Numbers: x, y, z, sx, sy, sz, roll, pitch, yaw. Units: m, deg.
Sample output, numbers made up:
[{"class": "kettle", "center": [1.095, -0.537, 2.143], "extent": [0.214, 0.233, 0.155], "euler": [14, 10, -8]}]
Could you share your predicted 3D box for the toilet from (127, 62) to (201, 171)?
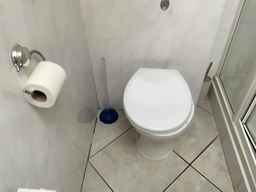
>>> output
[{"class": "toilet", "center": [0.170, 0.120, 1.300], "extent": [0.340, 0.440, 0.500], "euler": [0, 45, 1]}]
